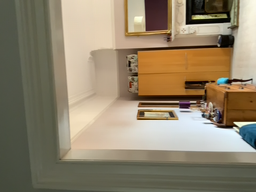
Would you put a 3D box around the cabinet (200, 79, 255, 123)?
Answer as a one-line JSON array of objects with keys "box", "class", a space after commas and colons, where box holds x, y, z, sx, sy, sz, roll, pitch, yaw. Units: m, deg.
[{"box": [1.570, 0.030, 3.120, 1.030, 0.760, 0.470, -54, -37, -79], "class": "cabinet"}]
